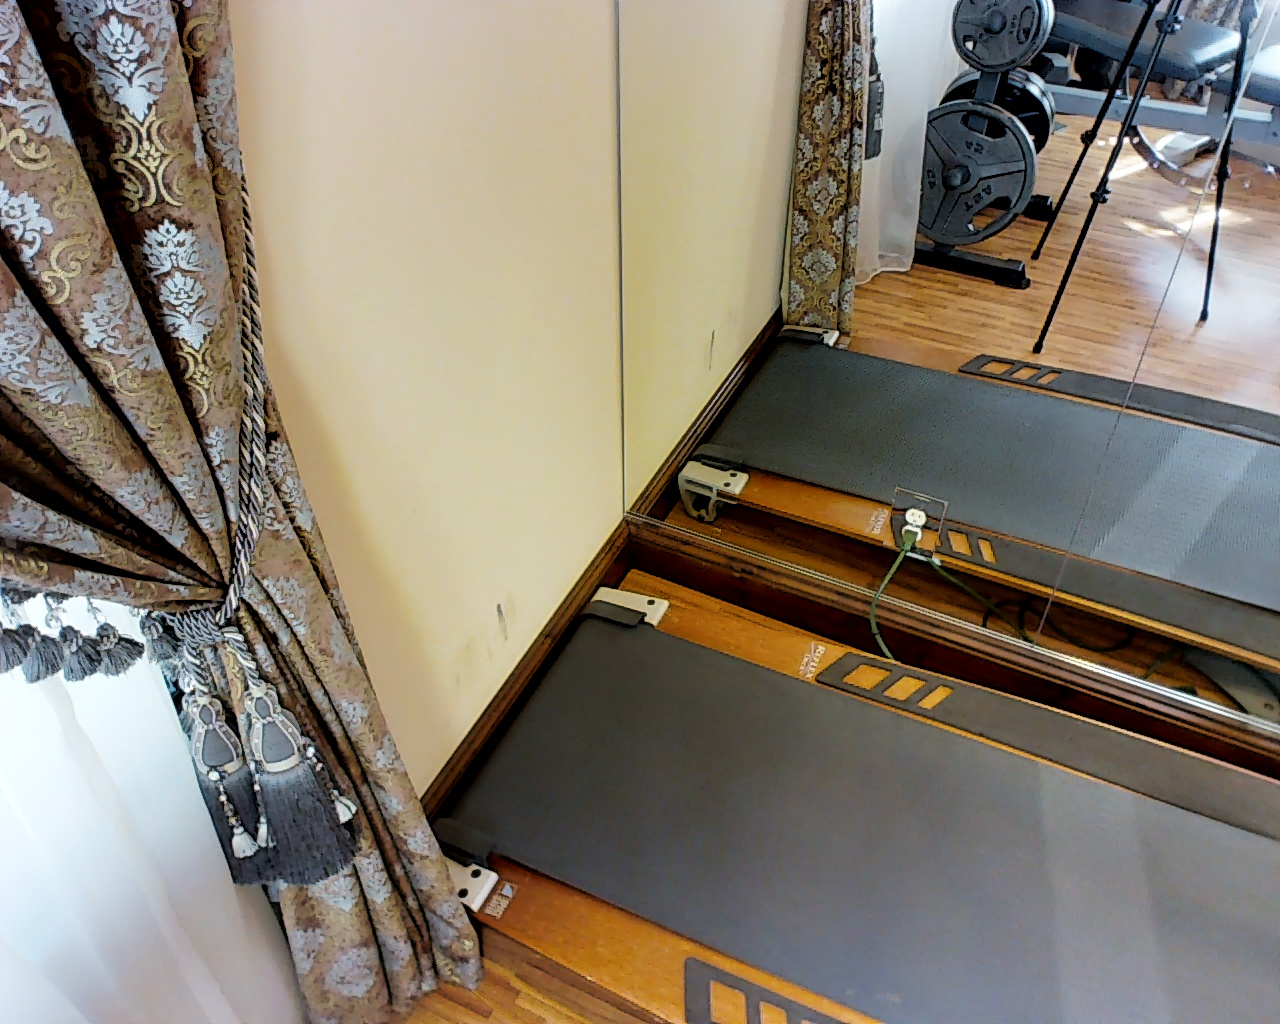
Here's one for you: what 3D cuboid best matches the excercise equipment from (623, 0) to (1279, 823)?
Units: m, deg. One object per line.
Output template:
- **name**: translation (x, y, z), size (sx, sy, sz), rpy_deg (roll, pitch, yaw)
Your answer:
- **excercise equipment**: translation (1.120, -0.480, 1.870), size (1.940, 1.530, 1.220), rpy_deg (18, 45, 20)
